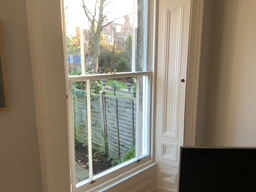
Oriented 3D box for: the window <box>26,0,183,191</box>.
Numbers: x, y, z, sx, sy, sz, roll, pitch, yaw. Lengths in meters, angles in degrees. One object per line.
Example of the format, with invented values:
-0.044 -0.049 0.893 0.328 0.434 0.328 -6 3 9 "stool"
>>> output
-0.090 -0.270 1.980 1.420 2.330 0.400 -10 15 -42 "window"
